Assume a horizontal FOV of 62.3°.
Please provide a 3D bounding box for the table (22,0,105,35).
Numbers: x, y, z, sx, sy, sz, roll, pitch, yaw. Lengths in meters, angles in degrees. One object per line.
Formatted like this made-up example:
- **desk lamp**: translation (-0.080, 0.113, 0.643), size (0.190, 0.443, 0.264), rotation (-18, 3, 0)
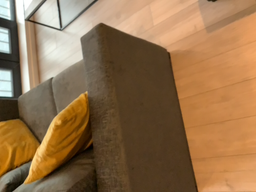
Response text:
- **table**: translation (-0.570, -1.130, 2.050), size (1.060, 0.440, 0.540), rotation (-19, 75, 38)

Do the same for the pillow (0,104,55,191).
- **pillow**: translation (-1.030, 0.390, 1.810), size (0.650, 0.450, 0.220), rotation (30, 123, 24)

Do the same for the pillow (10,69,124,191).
- **pillow**: translation (-0.370, 0.280, 1.190), size (0.200, 0.440, 0.810), rotation (40, 130, 12)

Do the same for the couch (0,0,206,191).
- **couch**: translation (-0.520, 0.320, 1.630), size (1.730, 0.880, 0.990), rotation (-19, 75, 38)
